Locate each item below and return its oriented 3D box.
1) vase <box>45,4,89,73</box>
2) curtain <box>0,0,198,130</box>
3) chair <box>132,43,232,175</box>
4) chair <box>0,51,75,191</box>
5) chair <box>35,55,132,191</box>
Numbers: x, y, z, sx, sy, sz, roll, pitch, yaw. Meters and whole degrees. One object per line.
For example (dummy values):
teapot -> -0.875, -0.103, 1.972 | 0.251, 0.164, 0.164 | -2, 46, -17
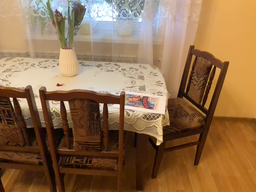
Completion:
vase -> -0.410, -0.400, 1.490 | 0.220, 0.430, 0.160 | 3, 30, 0
curtain -> -0.430, -0.980, 1.650 | 1.950, 2.850, 0.310 | 2, 30, -1
chair -> 0.360, 0.100, 1.710 | 0.480, 0.920, 0.420 | -9, 32, -19
chair -> -0.660, 0.230, 1.420 | 0.400, 0.910, 0.500 | 4, 30, 1
chair -> -0.220, 0.260, 1.400 | 0.430, 0.910, 0.470 | 4, 30, 1
